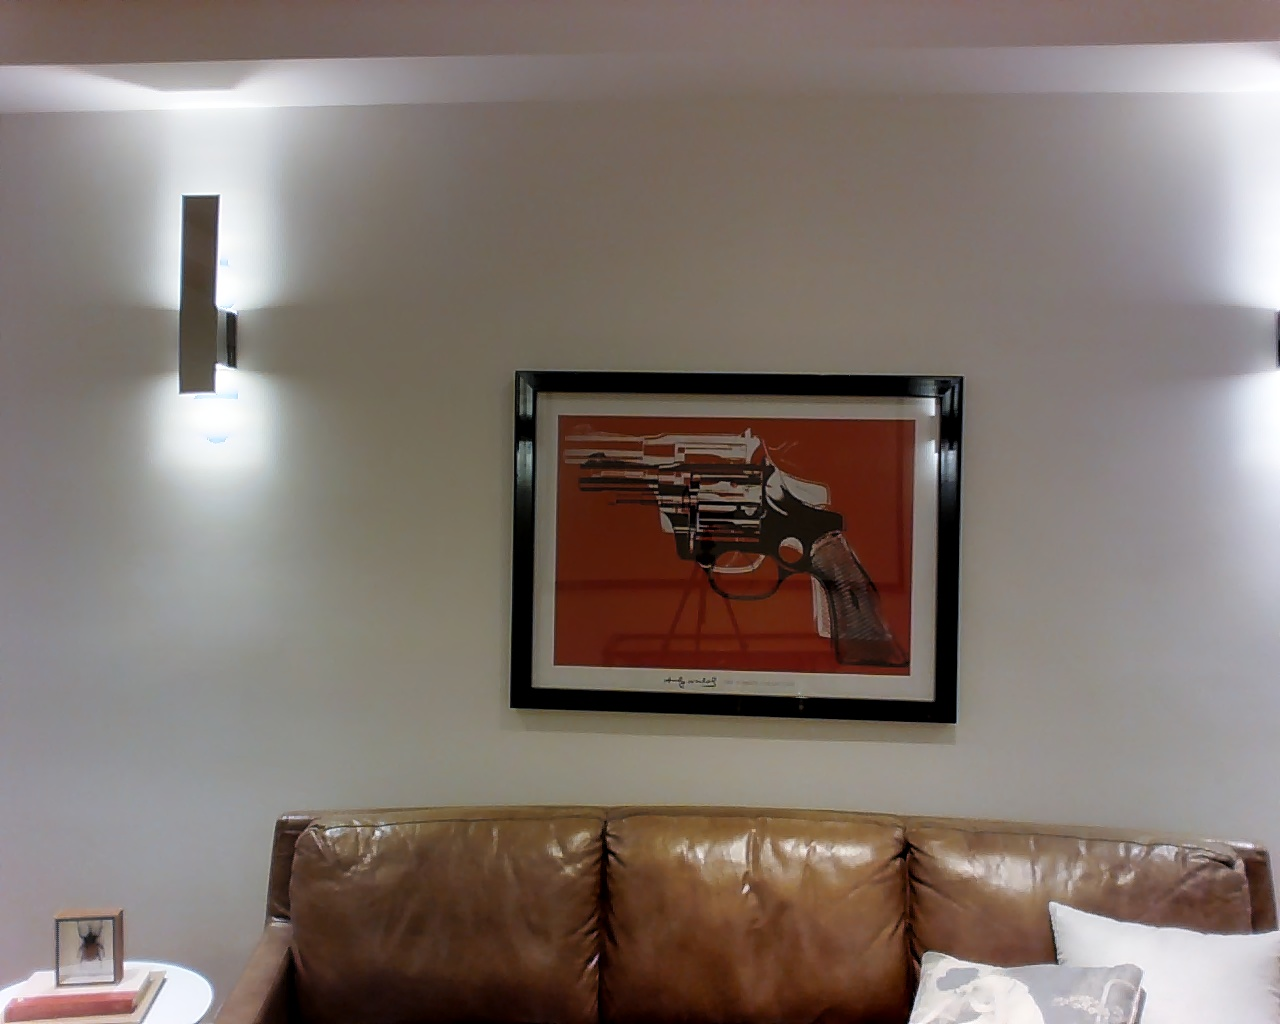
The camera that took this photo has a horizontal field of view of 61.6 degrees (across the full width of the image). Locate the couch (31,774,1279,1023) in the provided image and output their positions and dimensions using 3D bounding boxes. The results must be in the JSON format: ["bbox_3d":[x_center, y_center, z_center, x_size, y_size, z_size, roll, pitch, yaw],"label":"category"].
[{"bbox_3d":[0.240,1.120,2.130,2.260,0.880,1.150,0,0,4],"label":"couch"}]
